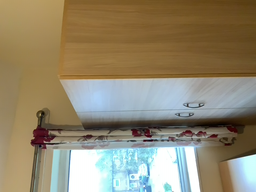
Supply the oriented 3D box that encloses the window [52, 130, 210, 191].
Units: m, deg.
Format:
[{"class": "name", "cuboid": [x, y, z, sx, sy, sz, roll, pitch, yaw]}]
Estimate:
[{"class": "window", "cuboid": [0.040, 0.790, 1.580, 0.090, 1.170, 1.040, 100, 168, -65]}]
